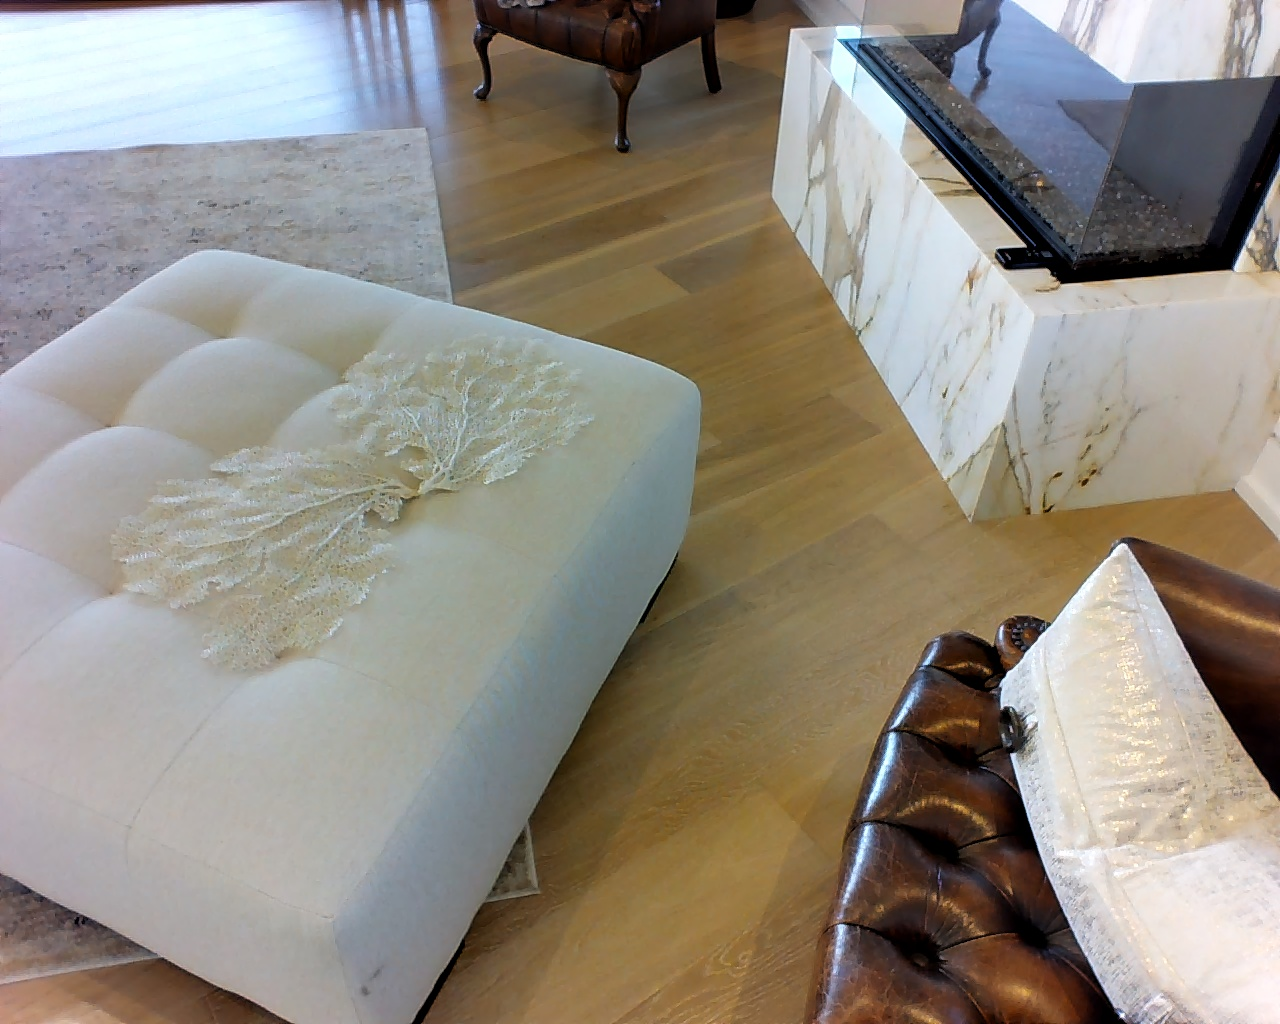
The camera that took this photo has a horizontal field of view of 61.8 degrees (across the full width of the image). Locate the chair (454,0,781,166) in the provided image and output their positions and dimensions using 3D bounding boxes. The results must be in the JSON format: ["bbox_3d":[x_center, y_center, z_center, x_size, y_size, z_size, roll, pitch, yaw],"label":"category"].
[{"bbox_3d":[-0.070,-1.990,3.680,0.810,1.140,0.850,30,50,28],"label":"chair"}]
